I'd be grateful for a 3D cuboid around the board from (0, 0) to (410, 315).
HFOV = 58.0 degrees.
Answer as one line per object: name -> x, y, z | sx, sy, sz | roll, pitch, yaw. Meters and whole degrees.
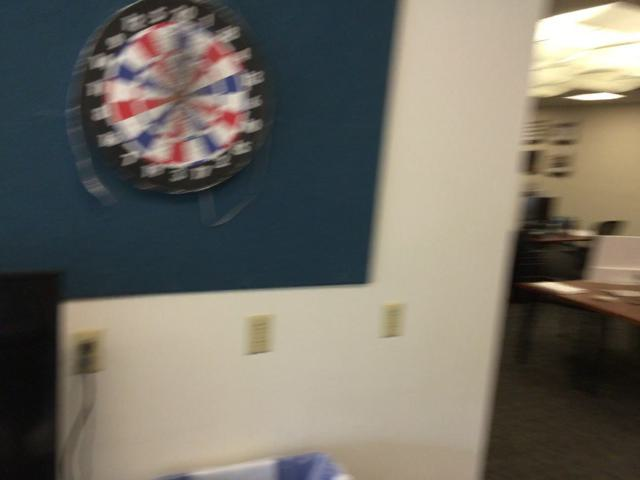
board -> -0.340, -0.470, 1.380 | 1.280, 1.210, 0.100 | -4, 12, -28
